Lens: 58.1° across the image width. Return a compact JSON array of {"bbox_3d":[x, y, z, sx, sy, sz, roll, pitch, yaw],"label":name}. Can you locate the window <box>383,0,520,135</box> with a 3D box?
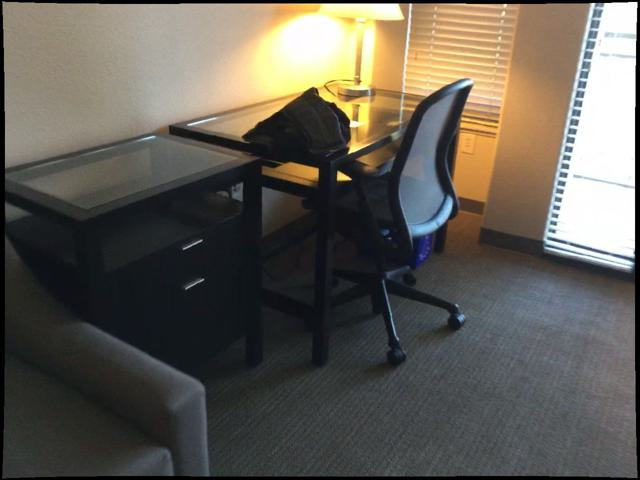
[{"bbox_3d":[0.758,-1.464,3.190,0.679,1.643,0.190,17,30,28],"label":"window"}]
